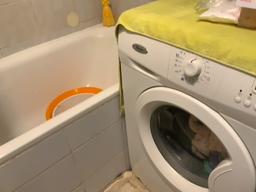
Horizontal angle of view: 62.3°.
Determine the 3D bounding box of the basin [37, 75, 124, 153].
[{"bbox_3d":[-0.270,0.080,1.240,0.360,0.180,0.320,-29,44,-28],"label":"basin"}]
